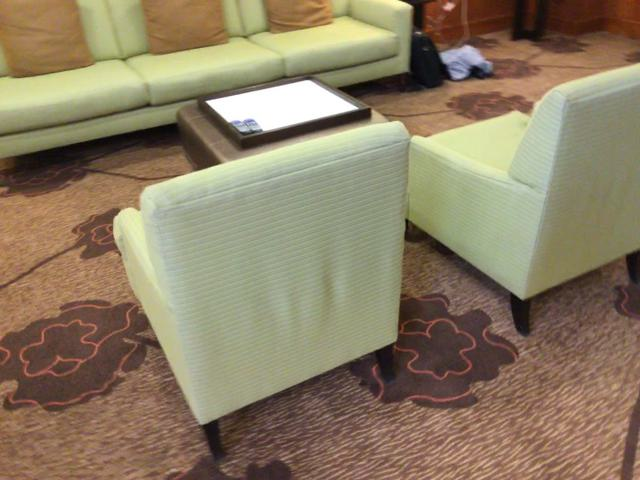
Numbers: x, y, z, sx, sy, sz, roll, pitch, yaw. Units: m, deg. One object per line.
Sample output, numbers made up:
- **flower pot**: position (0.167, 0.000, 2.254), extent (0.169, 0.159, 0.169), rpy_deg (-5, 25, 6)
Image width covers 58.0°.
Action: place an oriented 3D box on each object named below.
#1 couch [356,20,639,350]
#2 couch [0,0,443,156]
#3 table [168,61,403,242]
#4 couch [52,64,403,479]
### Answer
- **couch**: position (0.700, -0.290, 2.160), extent (0.770, 0.800, 0.940), rpy_deg (-15, 30, -14)
- **couch**: position (-0.840, -1.380, 3.760), extent (3.080, 0.900, 1.170), rpy_deg (-14, 30, -19)
- **table**: position (-0.210, -0.520, 2.990), extent (0.930, 0.490, 0.920), rpy_deg (-15, 30, -14)
- **couch**: position (-0.300, 0.010, 1.830), extent (0.740, 0.830, 0.940), rpy_deg (-15, 30, -14)
